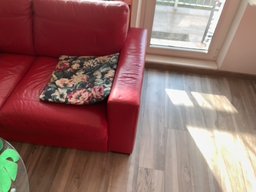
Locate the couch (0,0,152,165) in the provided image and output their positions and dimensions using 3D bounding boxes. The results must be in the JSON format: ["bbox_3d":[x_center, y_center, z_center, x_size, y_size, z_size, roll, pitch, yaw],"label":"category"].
[{"bbox_3d":[-0.850,-0.300,1.690,1.940,0.840,1.120,7,45,1],"label":"couch"}]
